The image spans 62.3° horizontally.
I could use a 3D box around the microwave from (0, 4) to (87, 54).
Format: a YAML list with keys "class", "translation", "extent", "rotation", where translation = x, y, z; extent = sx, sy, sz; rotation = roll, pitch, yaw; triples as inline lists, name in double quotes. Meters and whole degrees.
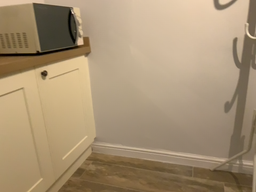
- class: "microwave"
  translation: [-0.540, -0.430, 1.370]
  extent: [0.340, 0.250, 0.450]
  rotation: [4, 20, 20]
